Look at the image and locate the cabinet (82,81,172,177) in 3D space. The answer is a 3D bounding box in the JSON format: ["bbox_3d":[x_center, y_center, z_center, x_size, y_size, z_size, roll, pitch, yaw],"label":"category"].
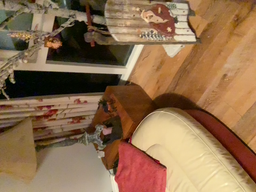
[{"bbox_3d":[-0.050,0.290,1.990,0.490,0.420,0.710,54,131,34],"label":"cabinet"}]
